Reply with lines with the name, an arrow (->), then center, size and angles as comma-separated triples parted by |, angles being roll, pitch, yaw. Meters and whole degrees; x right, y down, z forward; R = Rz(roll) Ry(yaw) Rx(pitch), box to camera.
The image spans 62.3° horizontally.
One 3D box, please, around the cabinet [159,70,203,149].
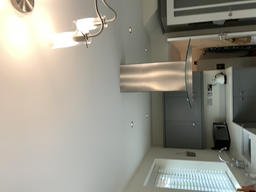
cabinet -> 1.120, 0.280, 4.520 | 0.370, 0.840, 1.590 | -3, -89, -76
